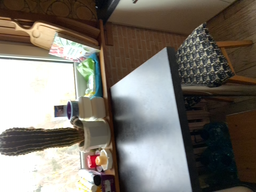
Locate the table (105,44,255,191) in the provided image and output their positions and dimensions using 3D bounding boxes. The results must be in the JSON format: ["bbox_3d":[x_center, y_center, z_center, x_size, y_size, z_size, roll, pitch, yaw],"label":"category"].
[{"bbox_3d":[0.440,0.340,1.140,0.620,0.860,0.940,-27,67,59],"label":"table"}]
